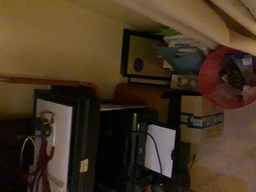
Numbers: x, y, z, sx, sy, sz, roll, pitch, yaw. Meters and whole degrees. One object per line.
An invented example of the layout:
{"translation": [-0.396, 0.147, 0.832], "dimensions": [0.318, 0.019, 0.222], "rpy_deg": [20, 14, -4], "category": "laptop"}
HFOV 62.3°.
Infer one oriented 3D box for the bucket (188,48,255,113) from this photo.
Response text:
{"translation": [0.520, -0.080, 1.060], "dimensions": [0.280, 0.300, 0.240], "rpy_deg": [19, 102, 40], "category": "bucket"}
